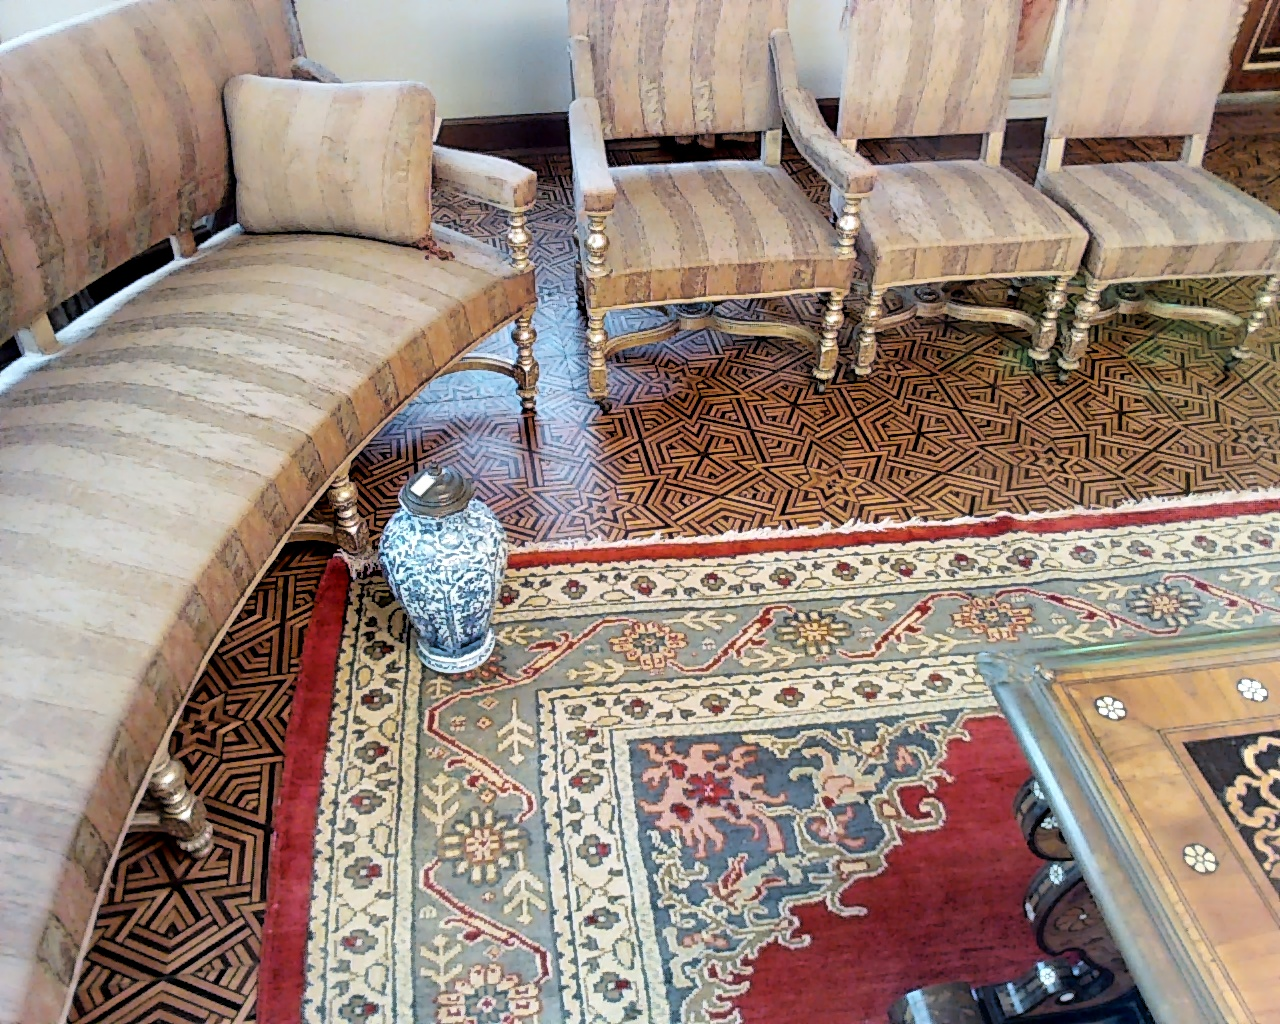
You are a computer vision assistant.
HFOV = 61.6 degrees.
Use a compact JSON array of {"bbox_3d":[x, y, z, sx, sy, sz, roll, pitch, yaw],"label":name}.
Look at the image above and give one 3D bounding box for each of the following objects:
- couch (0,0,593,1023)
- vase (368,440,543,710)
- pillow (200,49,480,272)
[{"bbox_3d":[-0.970,-0.040,1.860,1.080,1.070,2.910,9,42,9],"label":"couch"},{"bbox_3d":[-0.350,0.130,2.120,0.210,0.460,0.210,25,47,25],"label":"vase"},{"bbox_3d":[-0.700,-0.820,2.550,0.500,0.360,0.180,-8,45,20],"label":"pillow"}]
